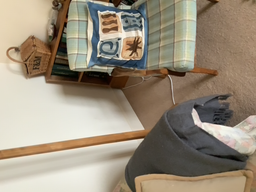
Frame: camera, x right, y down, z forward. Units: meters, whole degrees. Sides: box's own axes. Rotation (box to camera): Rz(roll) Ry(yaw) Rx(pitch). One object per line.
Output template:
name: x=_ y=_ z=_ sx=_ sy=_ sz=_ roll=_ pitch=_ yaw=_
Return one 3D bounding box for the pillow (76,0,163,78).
pillow: x=-0.050 y=-0.390 z=1.360 sx=0.380 sy=0.400 sz=0.160 roll=62 pitch=178 yaw=-15

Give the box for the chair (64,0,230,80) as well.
chair: x=0.090 y=-0.400 z=1.370 sx=0.760 sy=0.730 sz=0.530 roll=3 pitch=91 yaw=53
